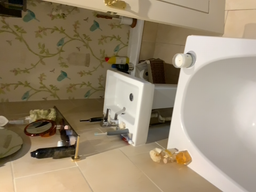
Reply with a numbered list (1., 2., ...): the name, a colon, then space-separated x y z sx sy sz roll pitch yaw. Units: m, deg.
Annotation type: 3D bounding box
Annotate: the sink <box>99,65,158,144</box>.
1. sink: -0.030 0.030 1.590 0.530 0.140 0.430 28 116 54
